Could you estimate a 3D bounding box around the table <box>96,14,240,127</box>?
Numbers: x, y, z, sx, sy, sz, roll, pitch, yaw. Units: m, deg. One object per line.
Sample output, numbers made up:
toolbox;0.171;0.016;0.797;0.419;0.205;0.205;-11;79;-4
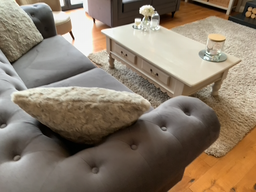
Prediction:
table;0.320;-0.390;2.300;0.700;0.510;1.330;-24;46;-30
